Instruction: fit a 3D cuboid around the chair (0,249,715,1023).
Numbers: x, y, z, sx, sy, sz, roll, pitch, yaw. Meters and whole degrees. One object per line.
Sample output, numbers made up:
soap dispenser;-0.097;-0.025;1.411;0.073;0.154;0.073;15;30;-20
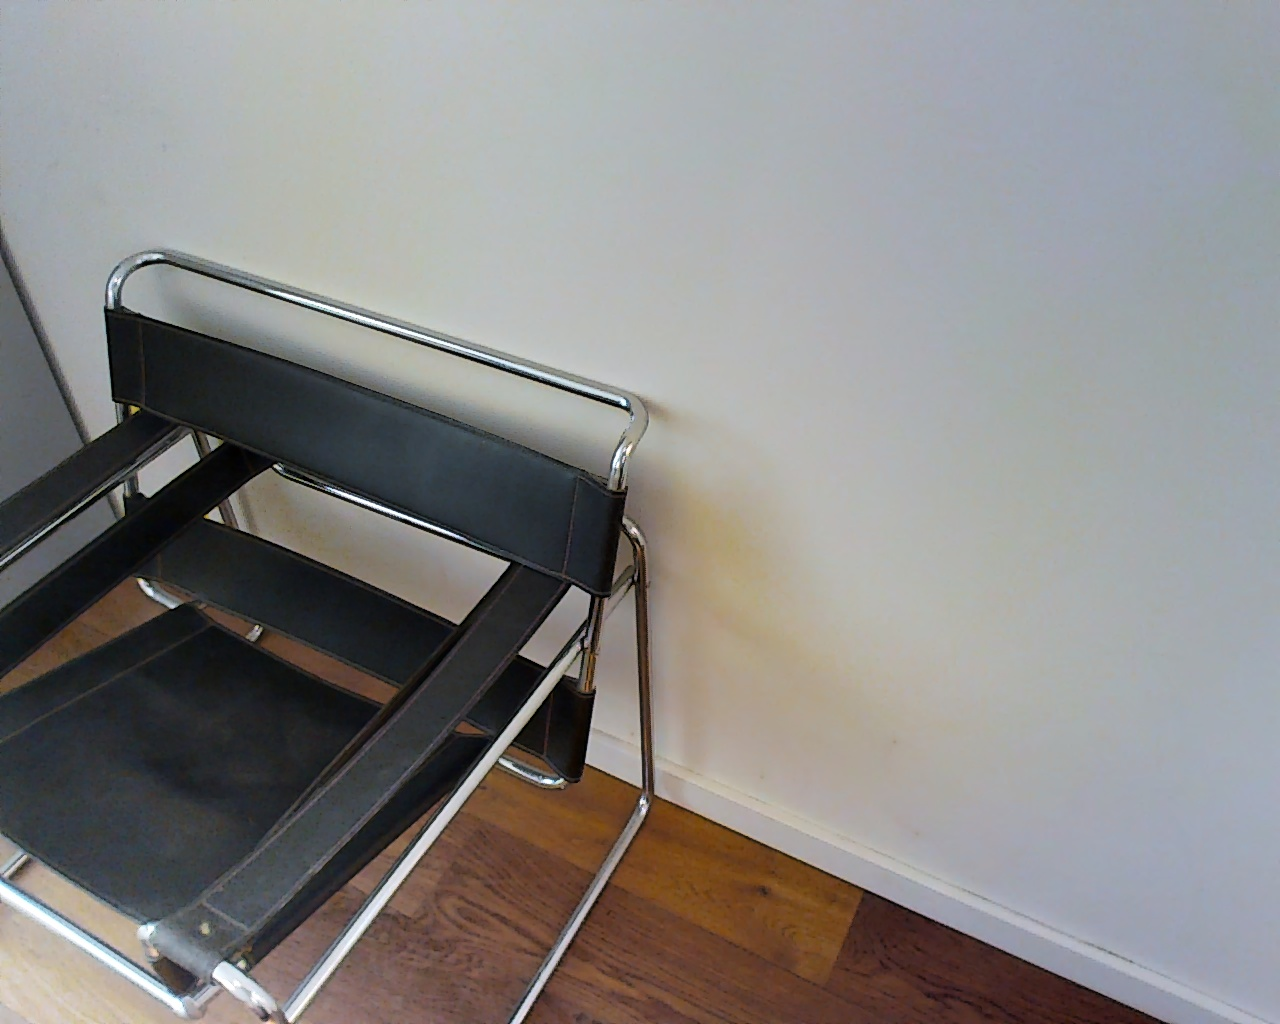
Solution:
chair;-0.490;0.250;1.330;0.910;0.700;0.740;19;45;21
